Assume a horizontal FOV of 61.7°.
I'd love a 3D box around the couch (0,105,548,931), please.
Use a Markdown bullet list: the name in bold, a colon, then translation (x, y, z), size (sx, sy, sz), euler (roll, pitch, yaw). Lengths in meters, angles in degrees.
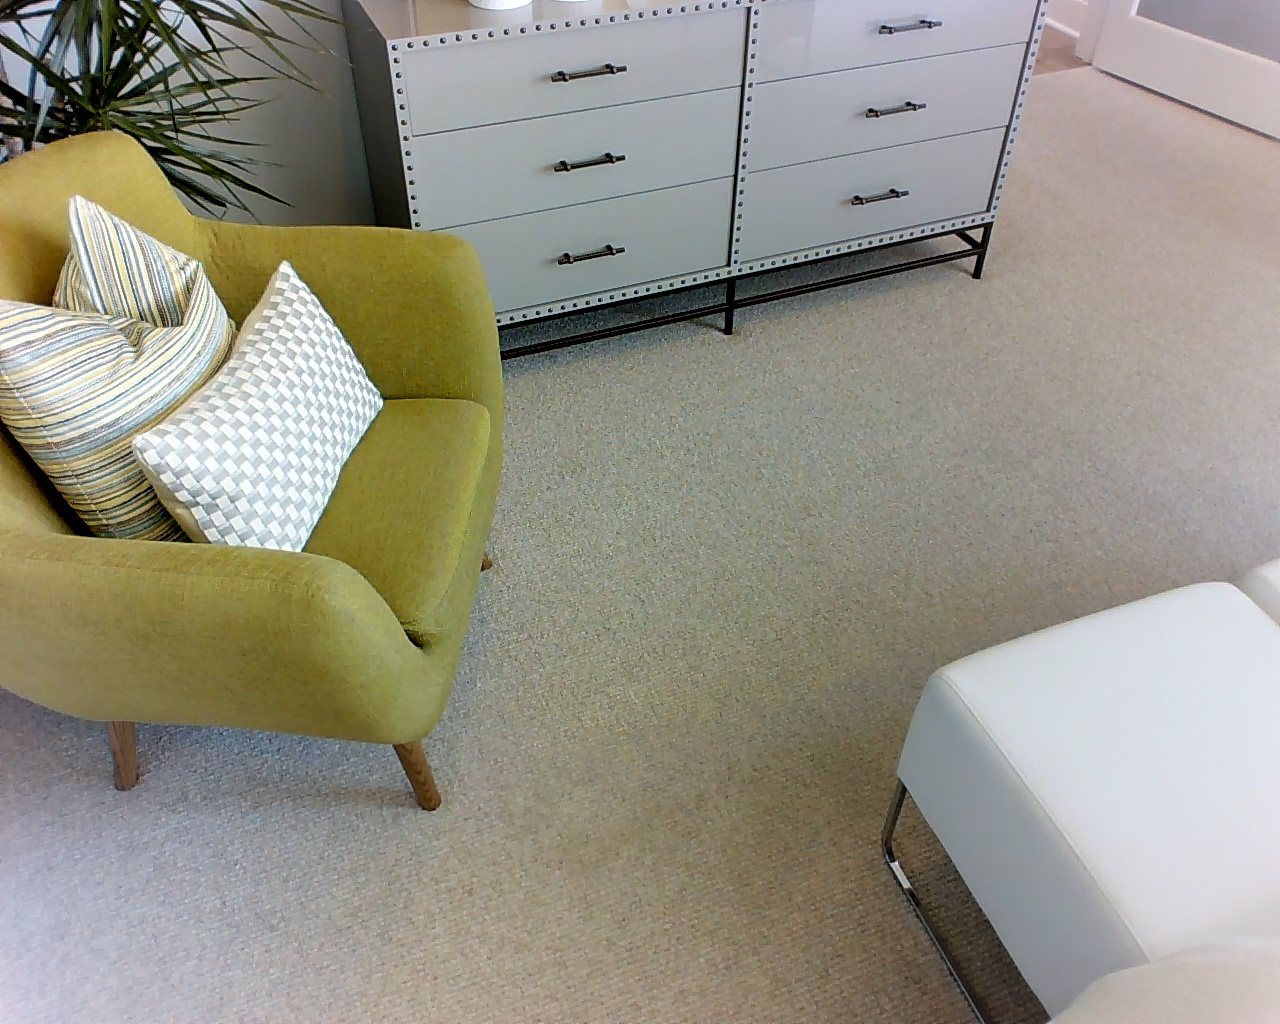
- **couch**: translation (-0.560, -0.020, 1.660), size (0.690, 0.840, 0.930), euler (3, 42, 2)
